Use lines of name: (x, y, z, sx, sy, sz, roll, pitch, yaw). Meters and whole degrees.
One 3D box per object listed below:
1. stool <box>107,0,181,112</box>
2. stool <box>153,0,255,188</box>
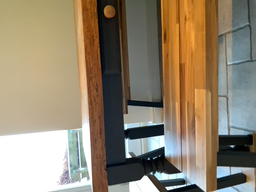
stool: (0.110, -0.470, 1.740, 0.390, 0.460, 1.130, -169, 76, -74)
stool: (0.380, -0.330, 0.770, 0.360, 0.470, 1.120, -160, 67, -73)
